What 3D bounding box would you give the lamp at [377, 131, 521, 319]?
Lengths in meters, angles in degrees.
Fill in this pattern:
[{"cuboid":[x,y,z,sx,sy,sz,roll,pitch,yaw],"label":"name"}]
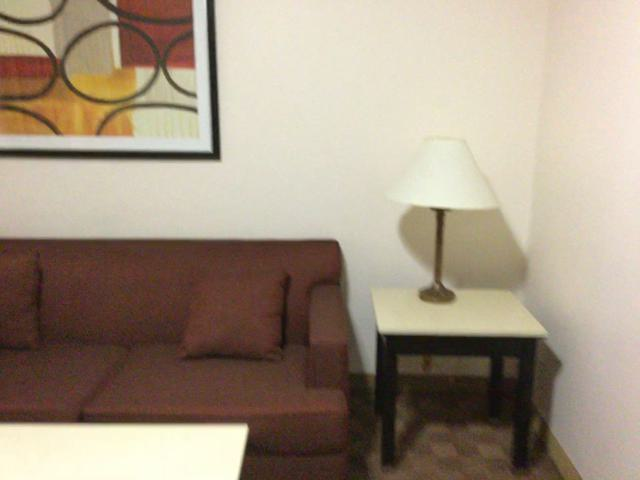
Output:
[{"cuboid":[0.480,-0.070,2.270,0.450,0.680,0.300,2,13,0],"label":"lamp"}]
